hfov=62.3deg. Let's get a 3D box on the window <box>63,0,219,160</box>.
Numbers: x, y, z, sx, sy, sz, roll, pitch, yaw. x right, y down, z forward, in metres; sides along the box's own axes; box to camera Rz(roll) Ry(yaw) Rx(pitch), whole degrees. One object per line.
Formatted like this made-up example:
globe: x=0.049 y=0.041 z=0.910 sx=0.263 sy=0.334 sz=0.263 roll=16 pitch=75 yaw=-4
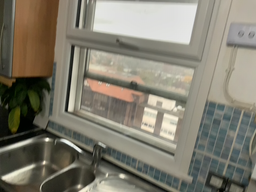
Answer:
window: x=0.010 y=-0.300 z=1.300 sx=0.880 sy=1.110 sz=0.120 roll=17 pitch=15 yaw=28
